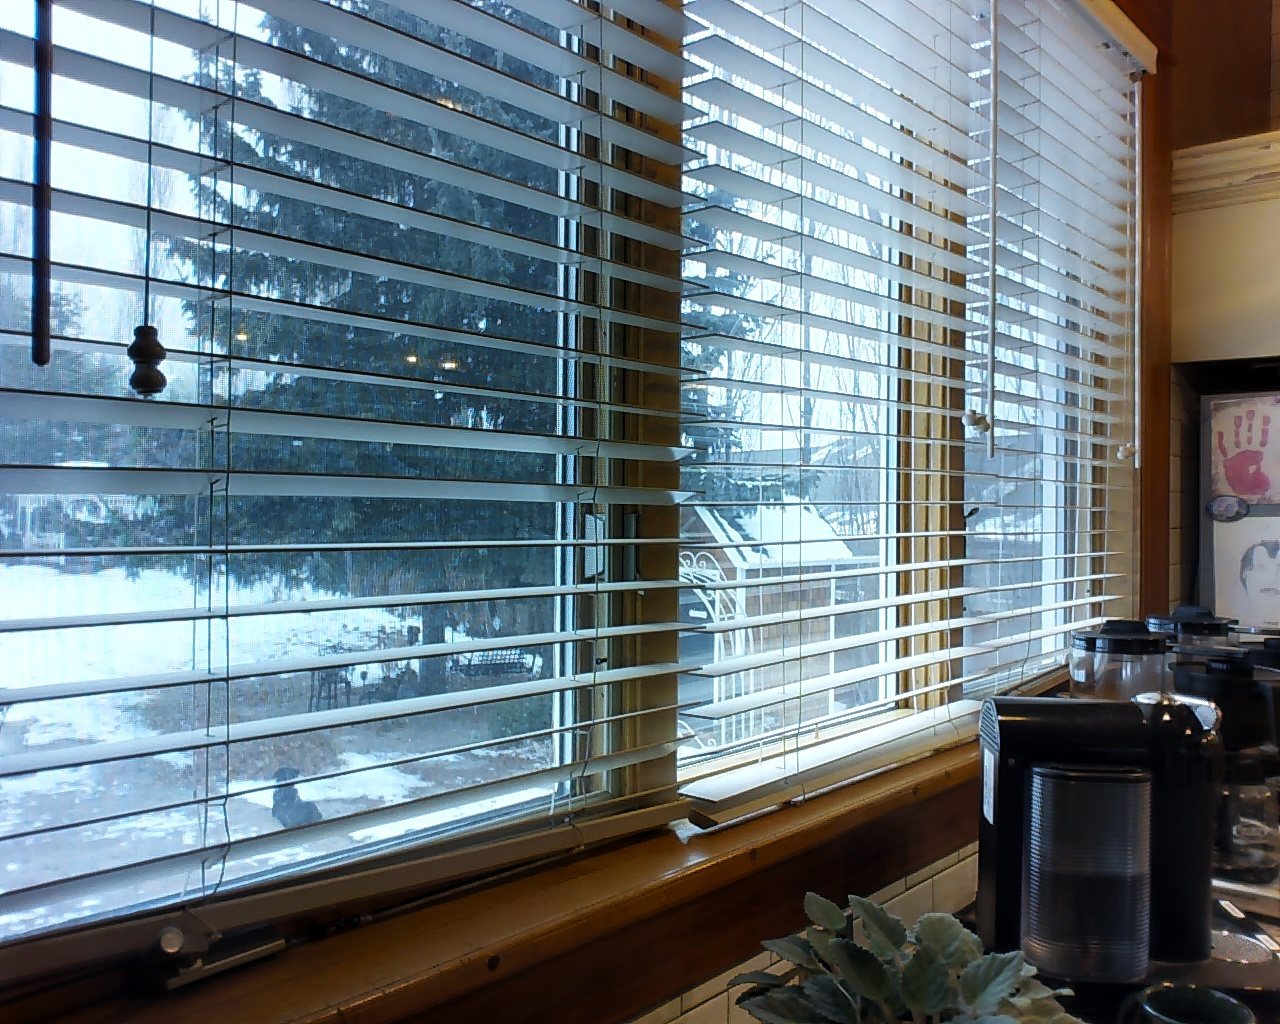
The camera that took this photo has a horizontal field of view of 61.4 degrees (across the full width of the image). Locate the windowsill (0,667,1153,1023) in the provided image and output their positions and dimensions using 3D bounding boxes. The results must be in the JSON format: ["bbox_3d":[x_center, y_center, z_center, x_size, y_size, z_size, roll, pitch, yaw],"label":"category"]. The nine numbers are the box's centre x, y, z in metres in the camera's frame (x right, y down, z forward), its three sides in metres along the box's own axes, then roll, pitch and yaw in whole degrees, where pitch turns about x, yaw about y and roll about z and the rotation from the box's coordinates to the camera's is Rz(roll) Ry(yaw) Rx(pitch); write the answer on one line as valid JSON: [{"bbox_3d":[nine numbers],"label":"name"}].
[{"bbox_3d":[0.250,0.350,1.300,0.100,0.100,2.170,0,0,41],"label":"windowsill"}]
